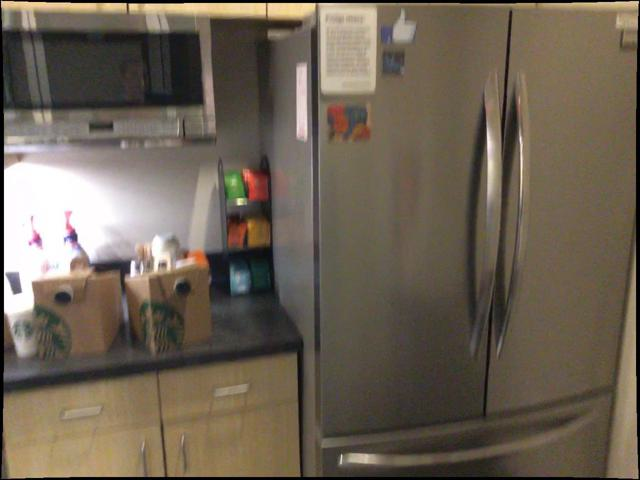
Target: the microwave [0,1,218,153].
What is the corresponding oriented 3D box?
[{"bbox_3d":[-0.648,-0.481,1.730,0.619,0.371,0.390,-6,14,-12],"label":"microwave"}]
